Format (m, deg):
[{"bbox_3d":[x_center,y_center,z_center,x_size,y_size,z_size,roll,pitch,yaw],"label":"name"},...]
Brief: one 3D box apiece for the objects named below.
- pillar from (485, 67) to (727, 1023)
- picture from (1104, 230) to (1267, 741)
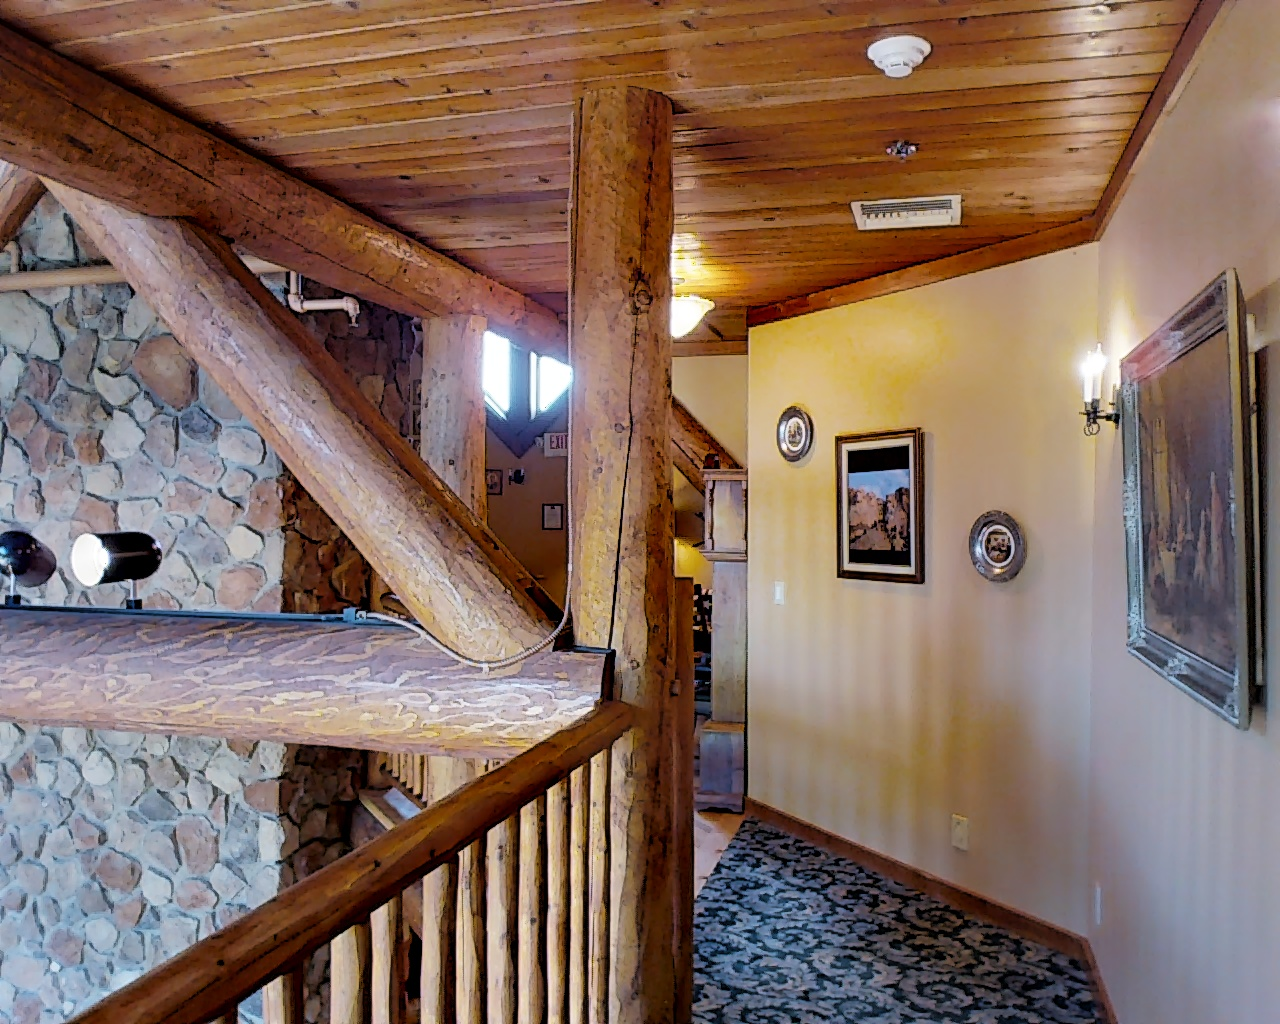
[{"bbox_3d":[-0.100,0.260,2.820,0.470,2.591,0.430,0,1,-30],"label":"pillar"},{"bbox_3d":[1.100,-0.050,2.250,0.070,0.820,1.060,1,1,15],"label":"picture"}]
